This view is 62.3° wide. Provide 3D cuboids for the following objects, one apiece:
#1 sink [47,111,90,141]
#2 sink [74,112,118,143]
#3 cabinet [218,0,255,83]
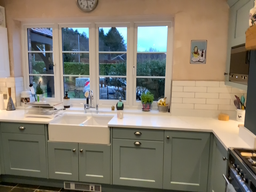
[{"bbox_3d":[-0.760,0.380,2.790,0.350,0.230,0.550,2,8,7],"label":"sink"},{"bbox_3d":[-0.390,0.390,2.750,0.420,0.230,0.550,2,8,7],"label":"sink"},{"bbox_3d":[1.340,-0.660,2.310,0.410,0.980,0.800,2,8,7],"label":"cabinet"}]
